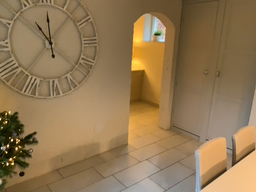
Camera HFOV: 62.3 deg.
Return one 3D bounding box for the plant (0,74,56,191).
[{"bbox_3d":[-1.230,0.550,1.770,0.940,1.290,0.780,-11,20,-39],"label":"plant"}]
